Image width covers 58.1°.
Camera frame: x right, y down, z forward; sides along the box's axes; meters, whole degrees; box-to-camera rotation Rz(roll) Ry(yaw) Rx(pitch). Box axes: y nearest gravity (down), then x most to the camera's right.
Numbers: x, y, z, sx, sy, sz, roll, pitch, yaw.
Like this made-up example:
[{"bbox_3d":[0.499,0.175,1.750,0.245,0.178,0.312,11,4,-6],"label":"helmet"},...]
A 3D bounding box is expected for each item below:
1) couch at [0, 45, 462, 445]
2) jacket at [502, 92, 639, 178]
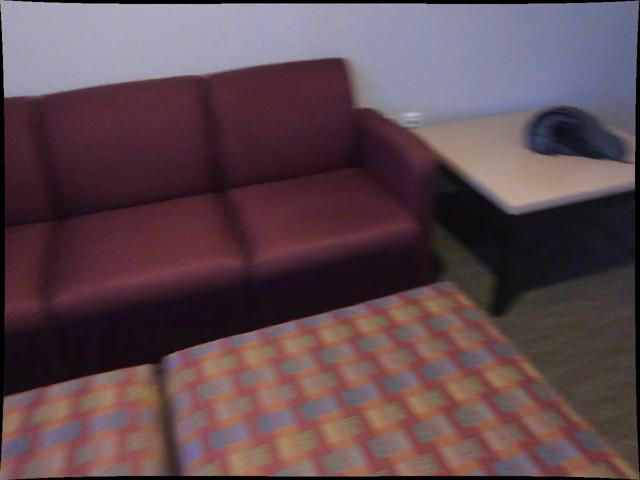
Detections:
[{"bbox_3d":[-0.589,-0.040,1.900,1.867,0.791,0.770,-13,33,-16],"label":"couch"},{"bbox_3d":[0.948,-0.401,2.140,0.389,0.150,0.330,-13,33,-16],"label":"jacket"}]
